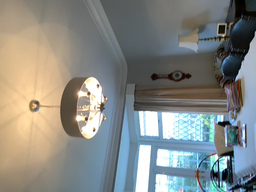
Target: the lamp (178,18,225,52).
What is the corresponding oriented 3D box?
[{"bbox_3d":[1.210,-1.020,3.560,0.300,0.710,0.410,62,-148,-61],"label":"lamp"}]
